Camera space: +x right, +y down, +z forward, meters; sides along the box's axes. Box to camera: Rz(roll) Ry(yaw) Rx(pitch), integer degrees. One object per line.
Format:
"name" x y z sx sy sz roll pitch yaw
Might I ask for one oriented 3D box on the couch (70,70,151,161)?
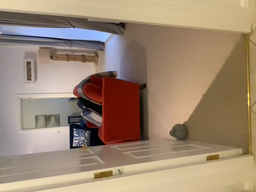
"couch" -0.350 0.220 3.290 1.280 0.910 1.090 180 89 -69
